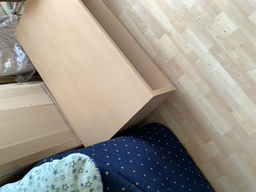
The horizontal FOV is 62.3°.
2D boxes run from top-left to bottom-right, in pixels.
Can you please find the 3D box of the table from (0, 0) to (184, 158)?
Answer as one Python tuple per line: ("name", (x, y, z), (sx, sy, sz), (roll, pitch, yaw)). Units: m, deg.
("table", (-0.370, -0.370, 1.600), (1.450, 0.390, 0.660), (51, 121, 17))
